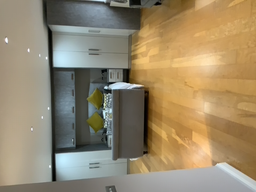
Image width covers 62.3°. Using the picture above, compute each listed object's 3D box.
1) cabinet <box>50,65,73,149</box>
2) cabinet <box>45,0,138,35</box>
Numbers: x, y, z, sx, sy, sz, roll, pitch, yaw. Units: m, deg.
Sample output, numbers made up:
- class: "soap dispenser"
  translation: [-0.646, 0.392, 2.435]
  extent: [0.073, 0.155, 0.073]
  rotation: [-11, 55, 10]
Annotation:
- class: "cabinet"
  translation: [-2.030, 0.320, 6.520]
  extent: [0.450, 0.620, 2.490]
  rotation: [-157, 67, -75]
- class: "cabinet"
  translation: [-0.950, -2.090, 5.660]
  extent: [0.860, 2.260, 0.620]
  rotation: [-157, 68, -75]
